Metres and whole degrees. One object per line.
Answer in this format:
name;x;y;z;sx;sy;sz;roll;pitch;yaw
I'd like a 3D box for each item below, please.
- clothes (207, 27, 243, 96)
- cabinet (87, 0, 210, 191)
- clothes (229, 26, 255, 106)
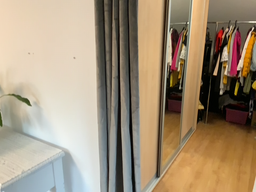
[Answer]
clothes;1.640;-0.610;3.560;0.360;1.020;0.780;9;18;26
cabinet;0.450;-0.400;2.580;0.440;2.440;2.250;10;19;29
clothes;2.000;-0.510;3.370;0.510;1.100;0.940;9;18;27
